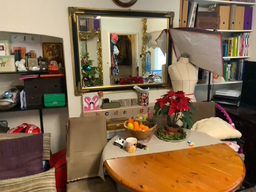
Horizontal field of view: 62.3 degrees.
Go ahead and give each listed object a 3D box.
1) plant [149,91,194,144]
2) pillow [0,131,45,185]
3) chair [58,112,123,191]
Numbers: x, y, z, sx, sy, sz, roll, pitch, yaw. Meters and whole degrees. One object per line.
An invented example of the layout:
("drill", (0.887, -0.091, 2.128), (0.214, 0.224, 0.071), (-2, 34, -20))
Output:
("plant", (0.400, 0.190, 2.010), (0.290, 0.400, 0.300), (-4, 14, -18))
("pillow", (-1.090, 0.570, 1.970), (0.560, 0.330, 0.320), (-5, 14, -18))
("chair", (-0.310, 0.710, 1.810), (0.420, 0.980, 0.620), (-3, 14, -13))
